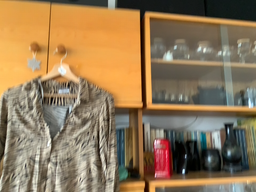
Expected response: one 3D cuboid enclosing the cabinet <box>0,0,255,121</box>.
[{"bbox_3d":[-0.360,-0.150,1.080,2.510,0.490,0.440,2,-11,-11],"label":"cabinet"}]
